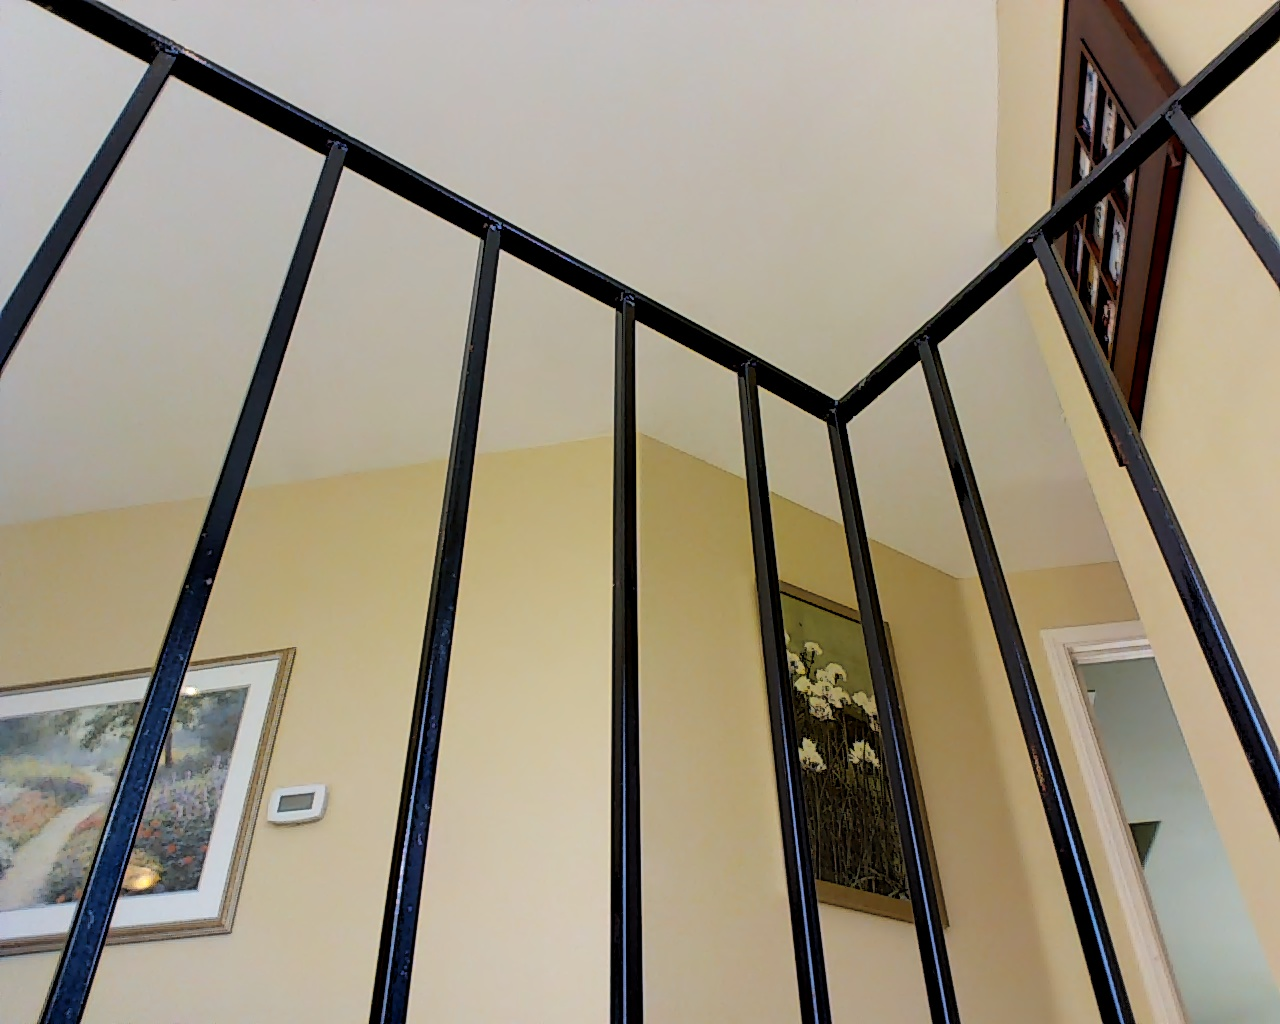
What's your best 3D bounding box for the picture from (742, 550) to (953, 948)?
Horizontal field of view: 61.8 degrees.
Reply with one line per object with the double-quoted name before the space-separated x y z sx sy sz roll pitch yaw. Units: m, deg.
"picture" 0.570 0.640 3.070 0.560 1.080 0.060 23 -46 -24
